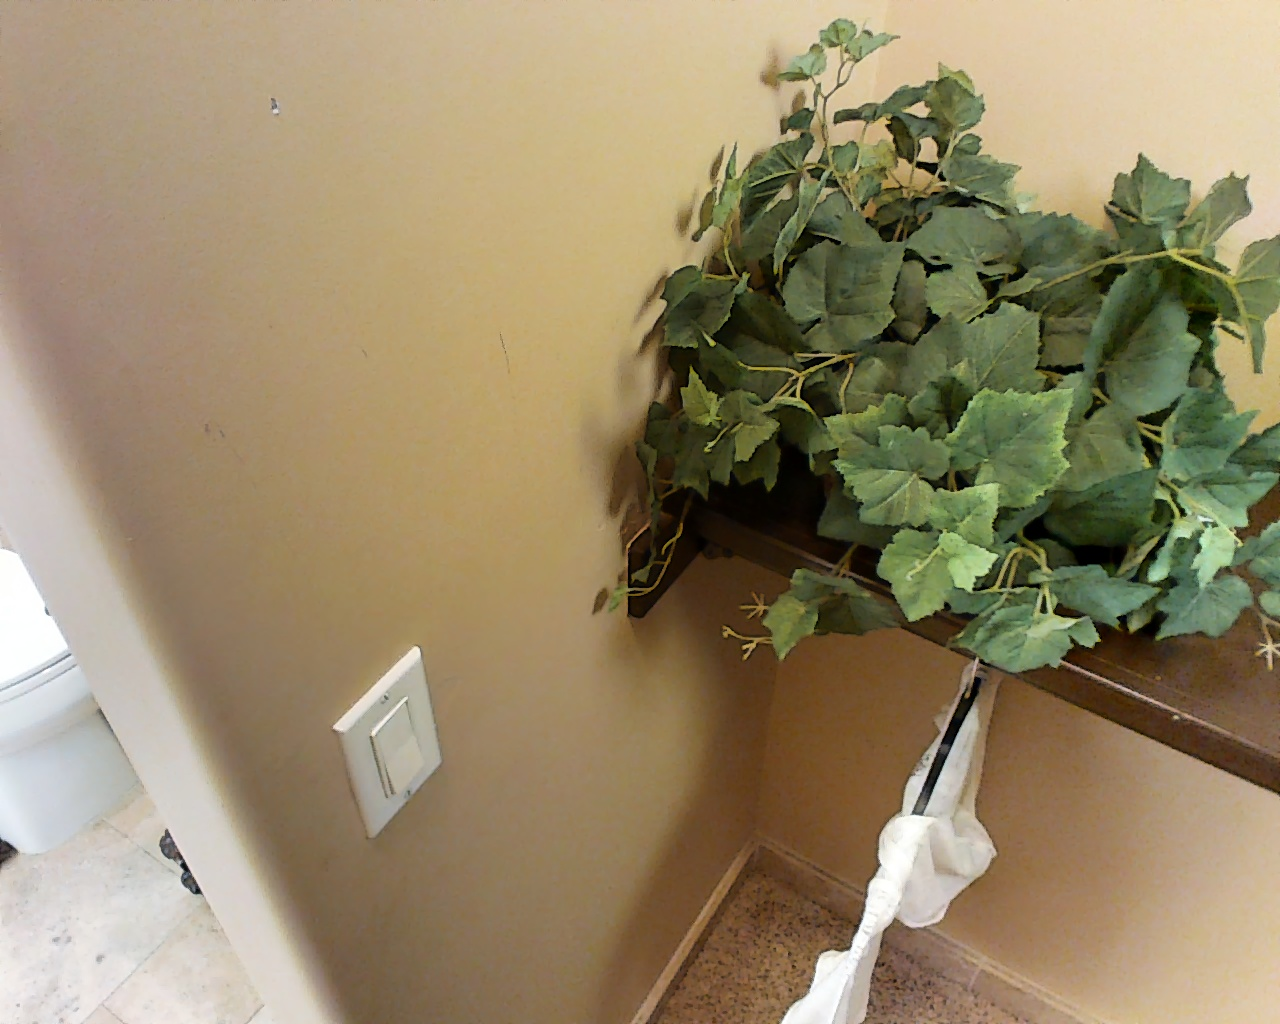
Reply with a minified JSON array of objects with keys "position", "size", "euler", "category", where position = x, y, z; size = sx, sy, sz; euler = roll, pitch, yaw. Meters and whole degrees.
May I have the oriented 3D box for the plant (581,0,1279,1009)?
[{"position":[0.280,-0.070,0.750],"size":[0.440,0.500,0.450],"euler":[24,48,24],"category":"plant"}]
